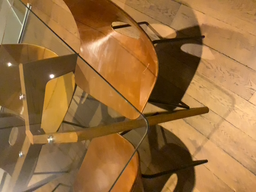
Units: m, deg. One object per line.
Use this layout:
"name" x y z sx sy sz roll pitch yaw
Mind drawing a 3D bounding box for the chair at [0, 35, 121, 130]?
"chair" -0.490 -0.090 1.440 0.370 0.750 0.390 38 113 31

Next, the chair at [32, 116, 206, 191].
"chair" 0.000 0.400 1.060 0.370 0.750 0.390 41 114 30
